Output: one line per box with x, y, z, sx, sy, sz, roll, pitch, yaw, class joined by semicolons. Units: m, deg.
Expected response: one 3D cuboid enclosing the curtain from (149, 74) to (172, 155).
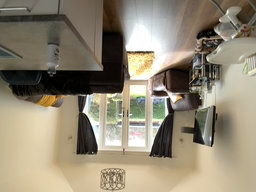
0.930;0.510;6.120;0.640;2.240;0.330;0;172;8;curtain

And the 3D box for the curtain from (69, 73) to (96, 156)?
-1.320;0.520;6.260;0.660;2.400;0.210;1;173;2;curtain
